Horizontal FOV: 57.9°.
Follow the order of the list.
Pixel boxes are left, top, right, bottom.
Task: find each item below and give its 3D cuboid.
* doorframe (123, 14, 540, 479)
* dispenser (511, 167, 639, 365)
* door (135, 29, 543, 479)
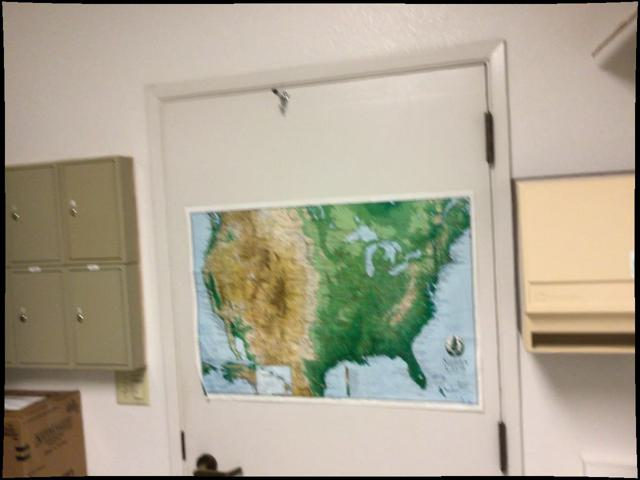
[{"bbox_3d":[0.030,0.551,1.560,1.049,2.092,0.080,-4,2,17],"label":"doorframe"},{"bbox_3d":[0.609,0.050,1.270,0.330,0.390,0.240,-4,2,17],"label":"dispenser"},{"bbox_3d":[0.050,0.571,1.550,1.019,2.062,0.070,-4,2,17],"label":"door"}]
